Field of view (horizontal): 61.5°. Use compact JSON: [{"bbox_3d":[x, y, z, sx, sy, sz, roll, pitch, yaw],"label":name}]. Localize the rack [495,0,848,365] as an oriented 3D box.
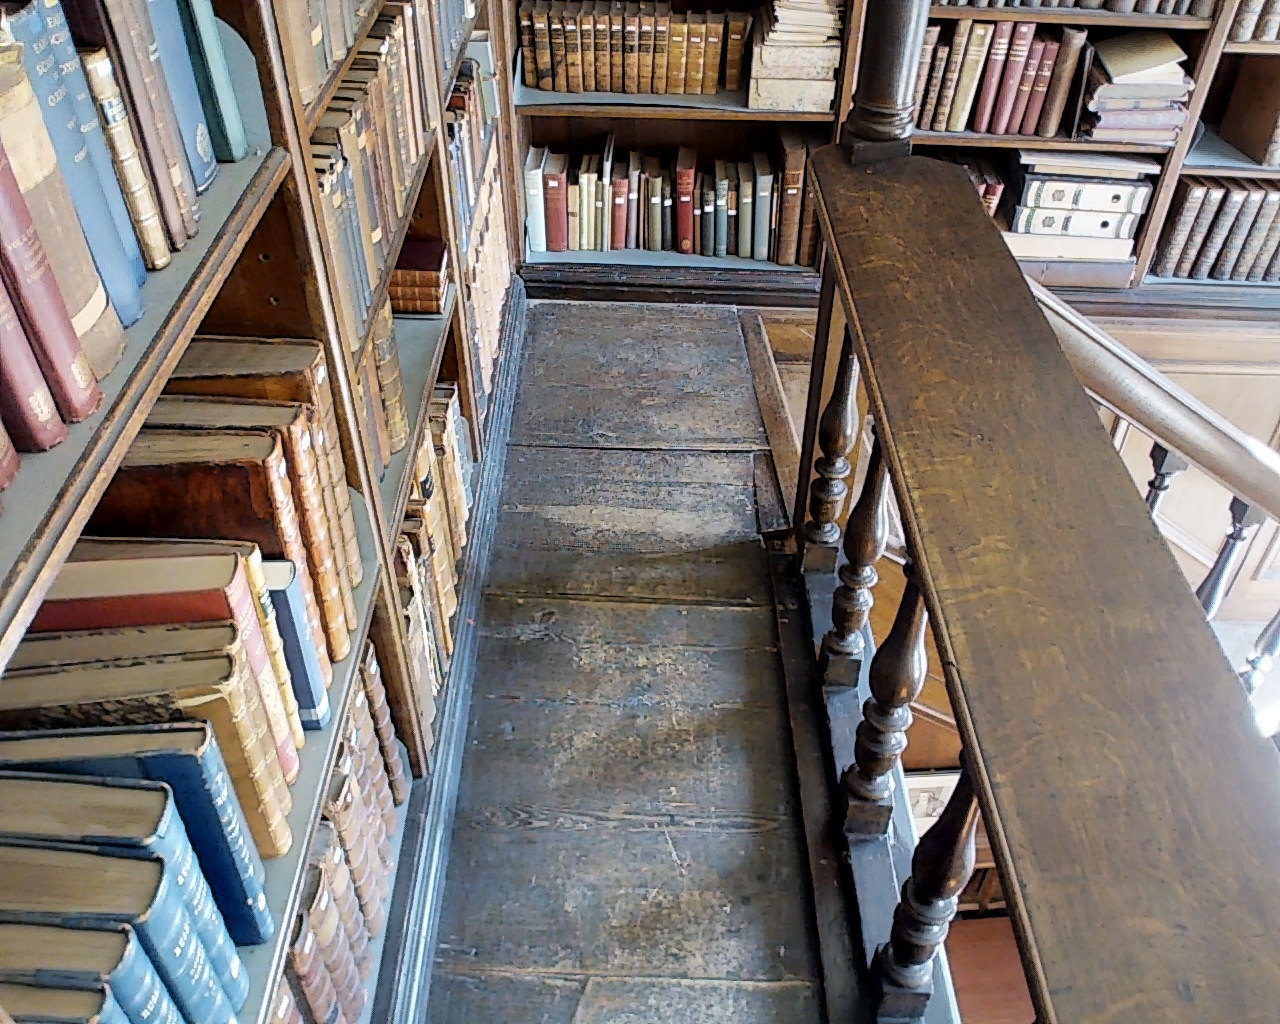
[{"bbox_3d":[0.070,-1.330,2.410,0.780,2.180,0.320,0,42,0],"label":"rack"}]
